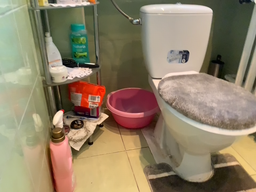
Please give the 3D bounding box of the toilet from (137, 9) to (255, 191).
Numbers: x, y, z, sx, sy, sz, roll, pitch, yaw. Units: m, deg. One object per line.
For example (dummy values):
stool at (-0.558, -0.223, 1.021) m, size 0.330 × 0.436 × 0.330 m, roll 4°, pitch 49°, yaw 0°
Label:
toilet at (0.310, 0.010, 1.030) m, size 0.350 × 0.740 × 0.650 m, roll -5°, pitch 29°, yaw -12°

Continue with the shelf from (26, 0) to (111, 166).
shelf at (-0.260, -0.180, 1.030) m, size 0.280 × 1.060 × 0.300 m, roll -6°, pitch 29°, yaw -12°
